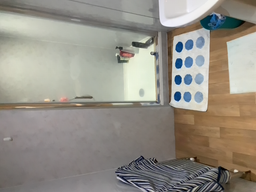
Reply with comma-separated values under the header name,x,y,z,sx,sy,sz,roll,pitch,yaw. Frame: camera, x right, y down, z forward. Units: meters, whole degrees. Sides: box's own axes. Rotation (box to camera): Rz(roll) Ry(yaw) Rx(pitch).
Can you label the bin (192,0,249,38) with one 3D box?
name,x,y,z,sx,sy,sz,roll,pitch,yaw
bin,0.750,-0.680,1.740,0.310,0.290,0.270,-7,83,61
